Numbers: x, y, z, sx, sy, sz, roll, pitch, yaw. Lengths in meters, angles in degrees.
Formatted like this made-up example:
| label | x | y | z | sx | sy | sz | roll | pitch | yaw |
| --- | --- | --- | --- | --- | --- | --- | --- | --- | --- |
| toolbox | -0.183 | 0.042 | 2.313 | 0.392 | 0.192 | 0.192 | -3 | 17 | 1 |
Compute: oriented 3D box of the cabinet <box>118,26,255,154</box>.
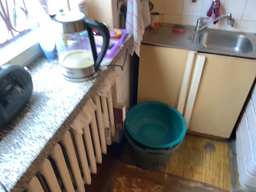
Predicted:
| label | x | y | z | sx | sy | sz | roll | pitch | yaw |
| --- | --- | --- | --- | --- | --- | --- | --- | --- | --- |
| cabinet | 0.460 | -0.080 | 1.840 | 0.920 | 0.760 | 0.600 | 11 | 40 | 14 |
